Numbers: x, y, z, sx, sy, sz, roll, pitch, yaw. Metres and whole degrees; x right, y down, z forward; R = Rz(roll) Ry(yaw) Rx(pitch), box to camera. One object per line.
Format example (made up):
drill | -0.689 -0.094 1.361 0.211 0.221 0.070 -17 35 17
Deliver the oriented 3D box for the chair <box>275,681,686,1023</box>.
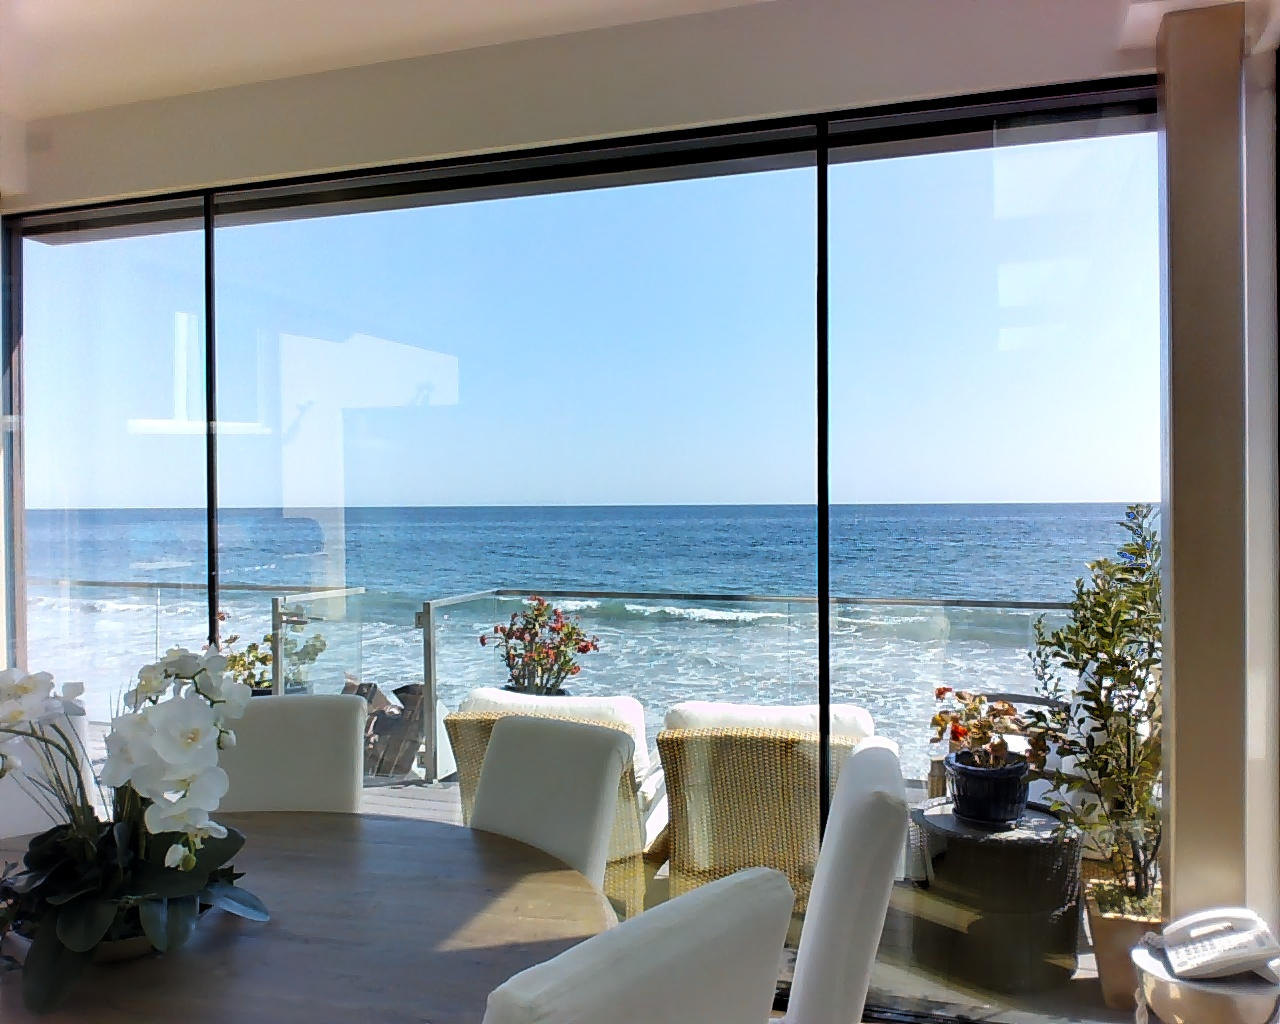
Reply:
chair | -0.310 0.980 2.310 0.550 1.100 0.700 -1 0 30
